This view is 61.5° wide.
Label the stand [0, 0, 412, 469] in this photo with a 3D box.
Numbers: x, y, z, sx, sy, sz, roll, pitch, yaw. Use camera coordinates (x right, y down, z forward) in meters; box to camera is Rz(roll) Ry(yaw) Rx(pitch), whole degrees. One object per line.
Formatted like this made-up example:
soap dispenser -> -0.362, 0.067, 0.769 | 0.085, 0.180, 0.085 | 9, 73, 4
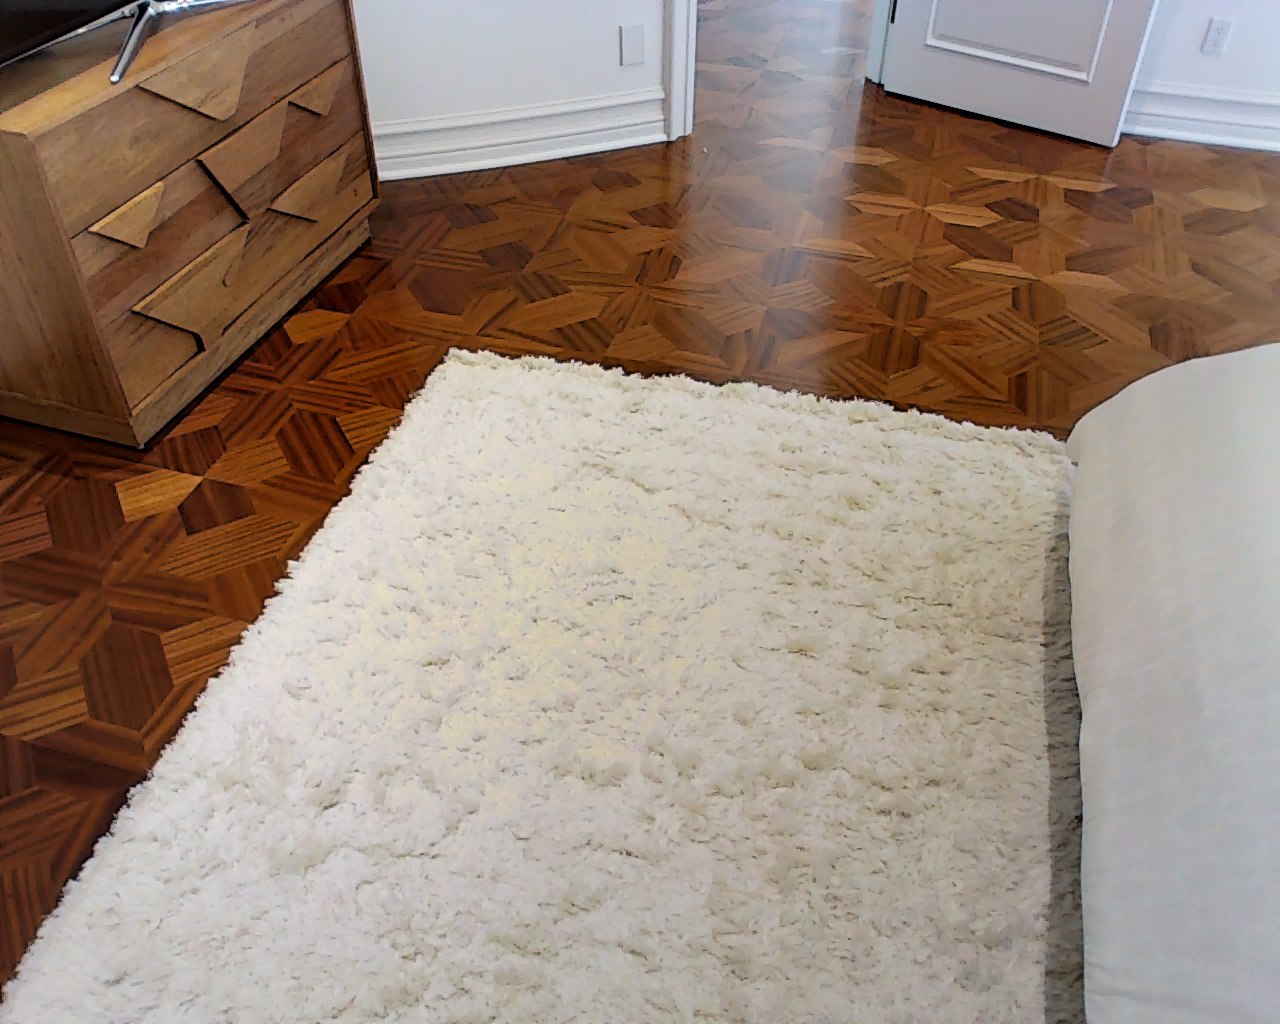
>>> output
stand -> -1.260, -0.880, 2.800 | 0.770, 0.840, 1.250 | 9, 42, 10
